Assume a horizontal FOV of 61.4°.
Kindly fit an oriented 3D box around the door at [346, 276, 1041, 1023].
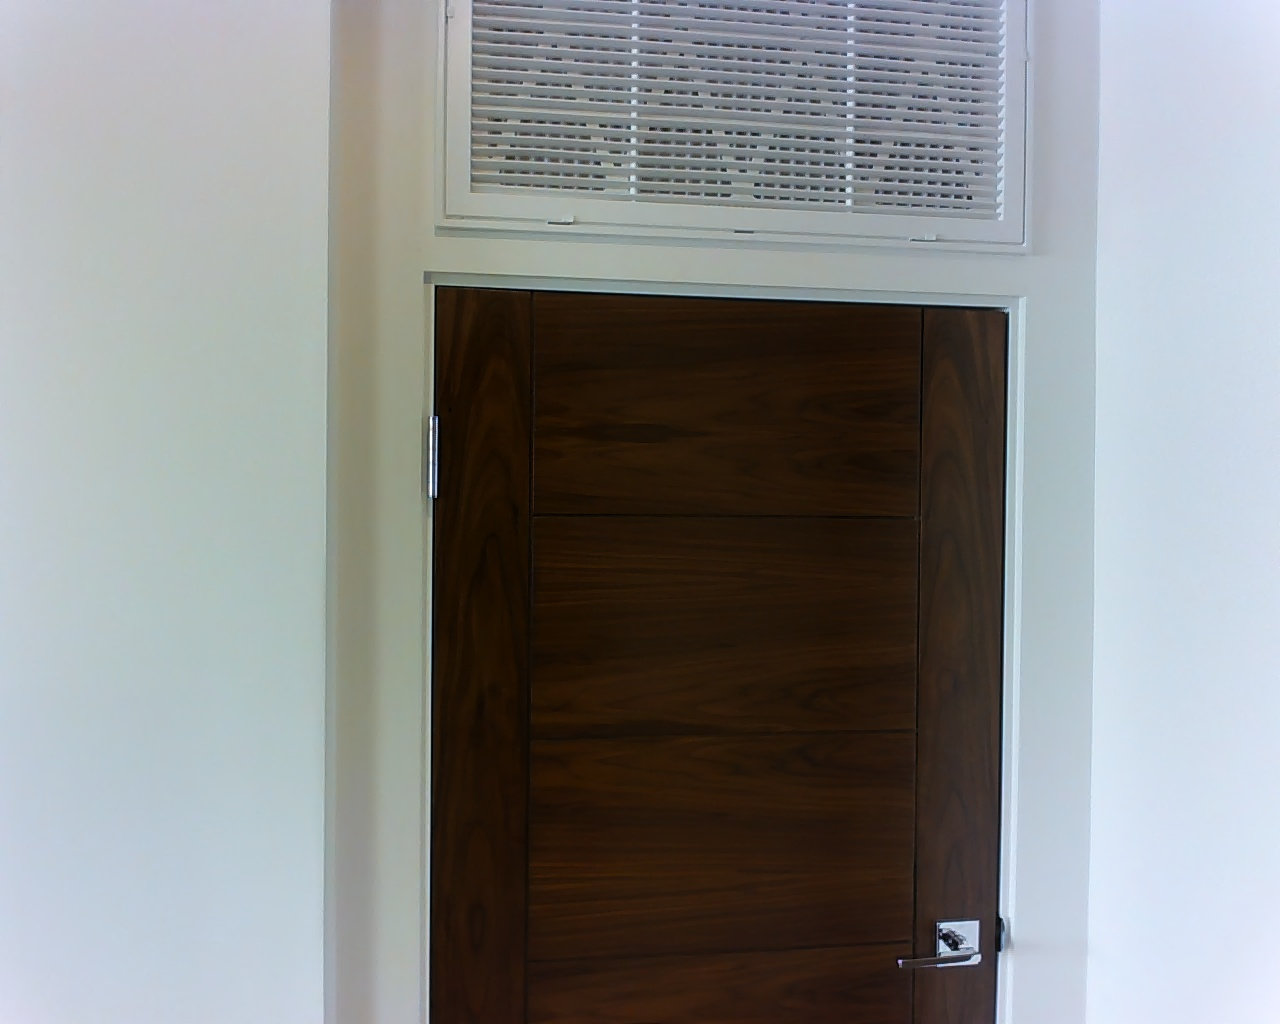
[{"bbox_3d":[0.080,0.620,1.490,0.940,1.840,0.060,1,1,-7],"label":"door"}]
